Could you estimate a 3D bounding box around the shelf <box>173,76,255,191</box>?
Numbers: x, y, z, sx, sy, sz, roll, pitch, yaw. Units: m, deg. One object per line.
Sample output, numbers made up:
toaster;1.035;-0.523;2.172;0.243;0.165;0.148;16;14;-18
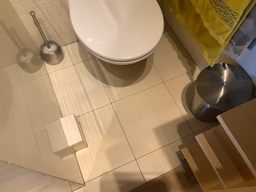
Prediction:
shelf;0.420;0.140;0.680;0.350;0.780;0.200;-21;67;-10
